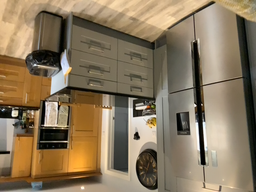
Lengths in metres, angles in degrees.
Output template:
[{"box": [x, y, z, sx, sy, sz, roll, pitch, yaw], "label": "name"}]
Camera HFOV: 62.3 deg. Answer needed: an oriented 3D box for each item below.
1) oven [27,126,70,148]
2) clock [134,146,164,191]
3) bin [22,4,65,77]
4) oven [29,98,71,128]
[{"box": [-1.560, 0.800, 4.150, 0.610, 0.370, 0.600, 8, 167, -35], "label": "oven"}, {"box": [0.300, 1.090, 3.190, 0.140, 0.640, 0.550, 7, 168, -31], "label": "clock"}, {"box": [-1.000, -0.610, 2.490, 0.330, 0.630, 0.510, 7, 168, -31], "label": "bin"}, {"box": [-1.560, 0.360, 4.230, 0.610, 0.510, 0.600, 8, 167, -35], "label": "oven"}]
